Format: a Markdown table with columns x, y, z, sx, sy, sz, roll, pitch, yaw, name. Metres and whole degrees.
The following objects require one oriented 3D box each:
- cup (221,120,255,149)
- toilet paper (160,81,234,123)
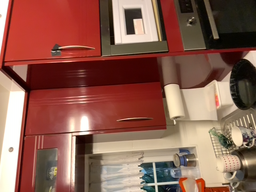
| x | y | z | sx | sy | sz | roll | pitch | yaw | name |
| --- | --- | --- | --- | --- | --- | --- | --- | --- | --- |
| 0.610 | 0.220 | 1.190 | 0.150 | 0.080 | 0.130 | 92 | 174 | -68 | cup |
| 0.440 | 0.050 | 1.430 | 0.280 | 0.380 | 0.180 | 93 | 173 | -70 | toilet paper |
